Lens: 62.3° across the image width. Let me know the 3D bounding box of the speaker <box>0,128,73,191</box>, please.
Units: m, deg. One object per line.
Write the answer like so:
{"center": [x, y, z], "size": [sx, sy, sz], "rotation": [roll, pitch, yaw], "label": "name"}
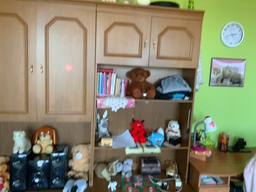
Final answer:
{"center": [-0.770, 0.560, 1.830], "size": [0.540, 0.520, 0.250], "rotation": [2, 8, -10], "label": "speaker"}
